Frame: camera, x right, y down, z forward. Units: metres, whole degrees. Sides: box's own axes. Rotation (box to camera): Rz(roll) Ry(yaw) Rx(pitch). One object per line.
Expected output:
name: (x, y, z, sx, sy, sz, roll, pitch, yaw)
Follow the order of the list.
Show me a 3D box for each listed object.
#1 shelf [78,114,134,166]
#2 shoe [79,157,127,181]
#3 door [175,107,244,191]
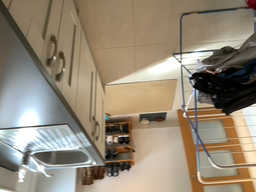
shelf: (-0.330, 0.670, 3.260, 0.780, 0.670, 0.260, -5, 150, 1)
shoe: (-0.350, 1.060, 3.060, 0.650, 0.250, 0.200, -5, 150, 1)
door: (1.080, 1.020, 2.730, 0.620, 1.840, 0.120, -5, 150, 1)
